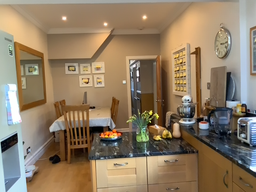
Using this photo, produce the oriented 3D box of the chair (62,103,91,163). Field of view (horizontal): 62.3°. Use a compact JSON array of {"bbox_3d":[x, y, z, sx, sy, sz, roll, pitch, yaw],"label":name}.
[{"bbox_3d":[-0.940,0.660,3.970,0.440,0.980,0.490,-3,5,-7],"label":"chair"}]
